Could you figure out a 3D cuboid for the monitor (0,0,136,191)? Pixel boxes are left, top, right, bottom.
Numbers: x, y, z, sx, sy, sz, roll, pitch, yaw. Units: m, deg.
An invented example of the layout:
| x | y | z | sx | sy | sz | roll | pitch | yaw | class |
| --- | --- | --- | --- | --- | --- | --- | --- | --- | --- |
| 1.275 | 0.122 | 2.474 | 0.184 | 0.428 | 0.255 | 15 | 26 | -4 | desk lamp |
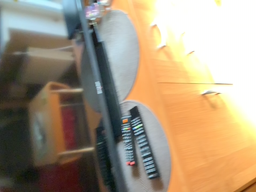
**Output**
| x | y | z | sx | sy | sz | roll | pitch | yaw | class |
| --- | --- | --- | --- | --- | --- | --- | --- | --- | --- |
| -0.300 | -0.020 | 0.690 | 0.050 | 0.540 | 0.890 | -33 | 67 | 47 | monitor |
